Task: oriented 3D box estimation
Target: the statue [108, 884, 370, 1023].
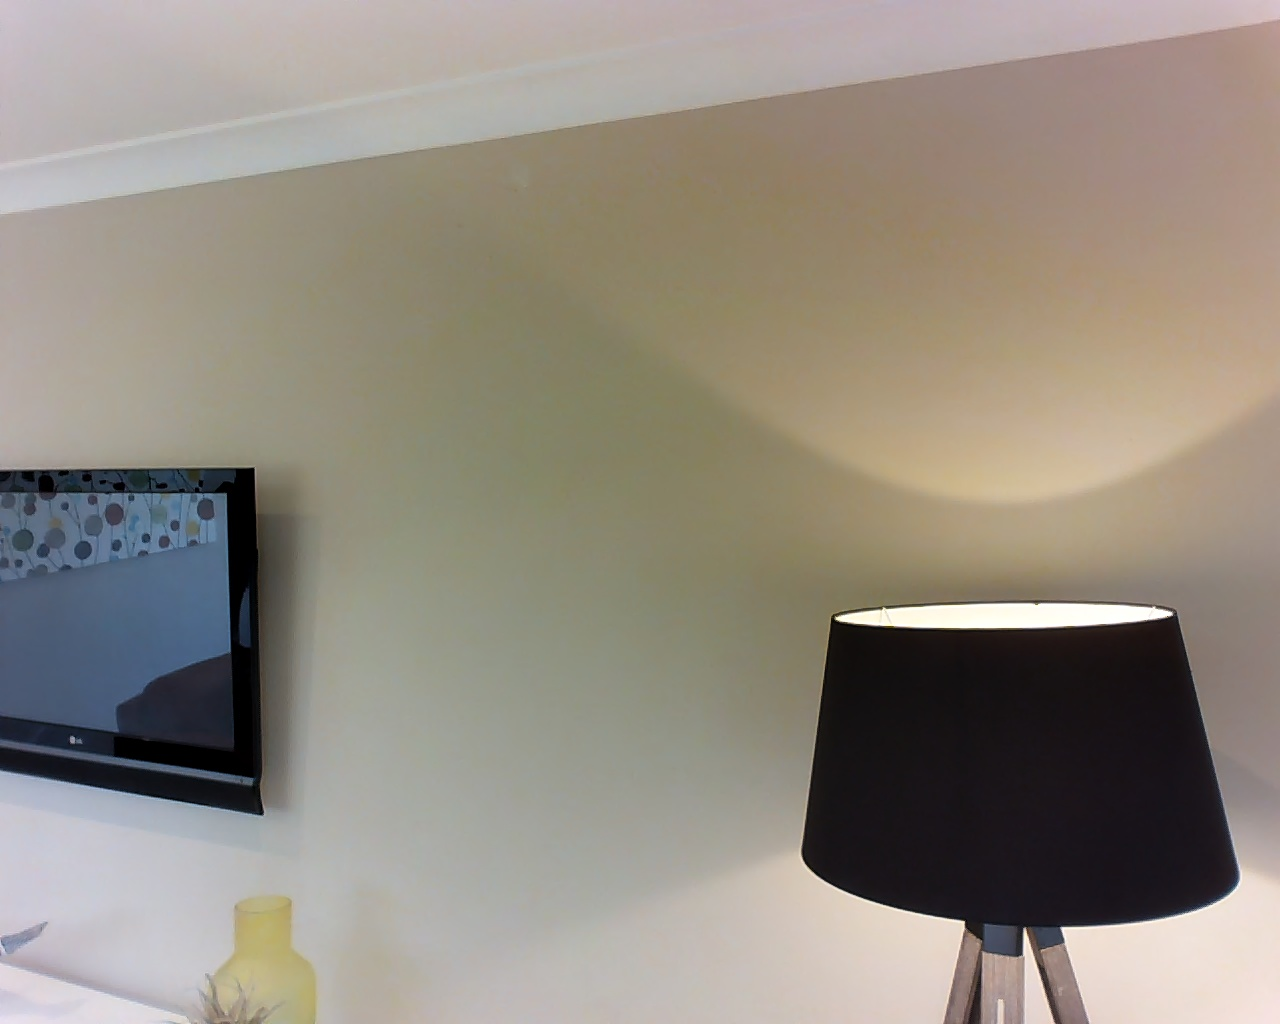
[{"bbox_3d":[-0.690,0.890,1.860,0.290,0.350,0.310,1,-1,22],"label":"statue"}]
